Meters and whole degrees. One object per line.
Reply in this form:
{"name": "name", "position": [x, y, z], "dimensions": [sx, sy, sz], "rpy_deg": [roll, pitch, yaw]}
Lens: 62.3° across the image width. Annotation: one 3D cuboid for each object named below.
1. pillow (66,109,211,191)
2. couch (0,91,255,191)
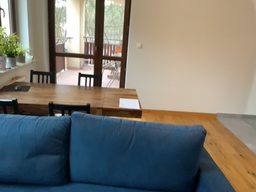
{"name": "pillow", "position": [0.040, 0.470, 1.510], "dimensions": [0.900, 0.650, 0.220], "rpy_deg": [5, 17, -2]}
{"name": "couch", "position": [-0.460, 0.600, 1.400], "dimensions": [2.170, 0.930, 1.000], "rpy_deg": [4, 17, -3]}
